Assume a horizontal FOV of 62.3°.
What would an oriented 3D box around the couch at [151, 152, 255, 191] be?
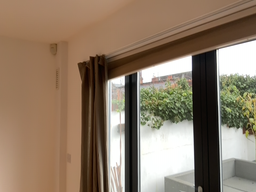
[{"bbox_3d":[1.520,1.560,3.650,2.120,0.720,1.040,3,-5,-39],"label":"couch"}]
